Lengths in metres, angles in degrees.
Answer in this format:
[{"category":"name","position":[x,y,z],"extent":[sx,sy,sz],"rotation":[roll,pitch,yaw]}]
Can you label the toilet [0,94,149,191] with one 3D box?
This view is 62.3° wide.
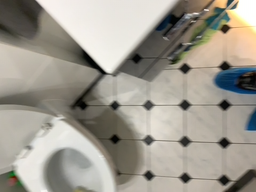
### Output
[{"category":"toilet","position":[-0.280,0.310,0.860],"extent":[0.520,0.860,0.380],"rotation":[44,99,8]}]
